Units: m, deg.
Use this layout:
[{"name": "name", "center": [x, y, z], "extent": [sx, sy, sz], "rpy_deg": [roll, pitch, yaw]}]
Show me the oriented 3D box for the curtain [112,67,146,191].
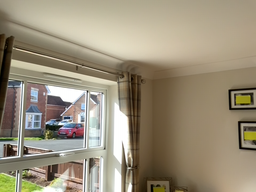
[{"name": "curtain", "center": [0.010, 0.880, 2.210], "extent": [0.180, 2.320, 0.330], "rpy_deg": [-3, -7, 37]}]
